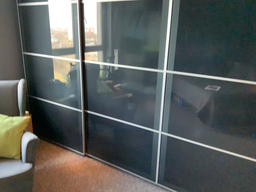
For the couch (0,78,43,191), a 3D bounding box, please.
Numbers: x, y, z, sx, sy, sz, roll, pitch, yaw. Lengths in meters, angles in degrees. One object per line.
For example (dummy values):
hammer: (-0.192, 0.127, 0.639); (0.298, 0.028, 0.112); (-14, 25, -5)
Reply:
couch: (-1.280, 0.440, 1.940); (0.780, 0.970, 0.930); (-7, 20, -27)
